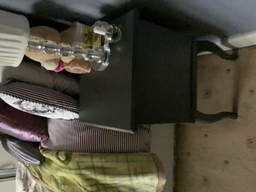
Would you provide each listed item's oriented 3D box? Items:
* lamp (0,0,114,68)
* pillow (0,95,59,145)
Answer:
[{"bbox_3d":[-0.310,-0.240,0.710,0.240,0.460,0.200,0,87,52],"label":"lamp"},{"bbox_3d":[-0.680,0.130,1.340,0.370,0.320,0.150,-2,112,50],"label":"pillow"}]
